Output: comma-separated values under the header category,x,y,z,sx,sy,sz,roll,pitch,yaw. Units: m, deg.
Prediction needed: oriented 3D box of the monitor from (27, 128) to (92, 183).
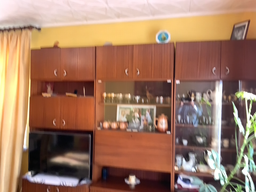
category,x,y,z,sx,sy,sz,roll,pitch,yaw
monitor,-0.940,0.780,2.850,0.930,0.640,0.060,2,0,15
